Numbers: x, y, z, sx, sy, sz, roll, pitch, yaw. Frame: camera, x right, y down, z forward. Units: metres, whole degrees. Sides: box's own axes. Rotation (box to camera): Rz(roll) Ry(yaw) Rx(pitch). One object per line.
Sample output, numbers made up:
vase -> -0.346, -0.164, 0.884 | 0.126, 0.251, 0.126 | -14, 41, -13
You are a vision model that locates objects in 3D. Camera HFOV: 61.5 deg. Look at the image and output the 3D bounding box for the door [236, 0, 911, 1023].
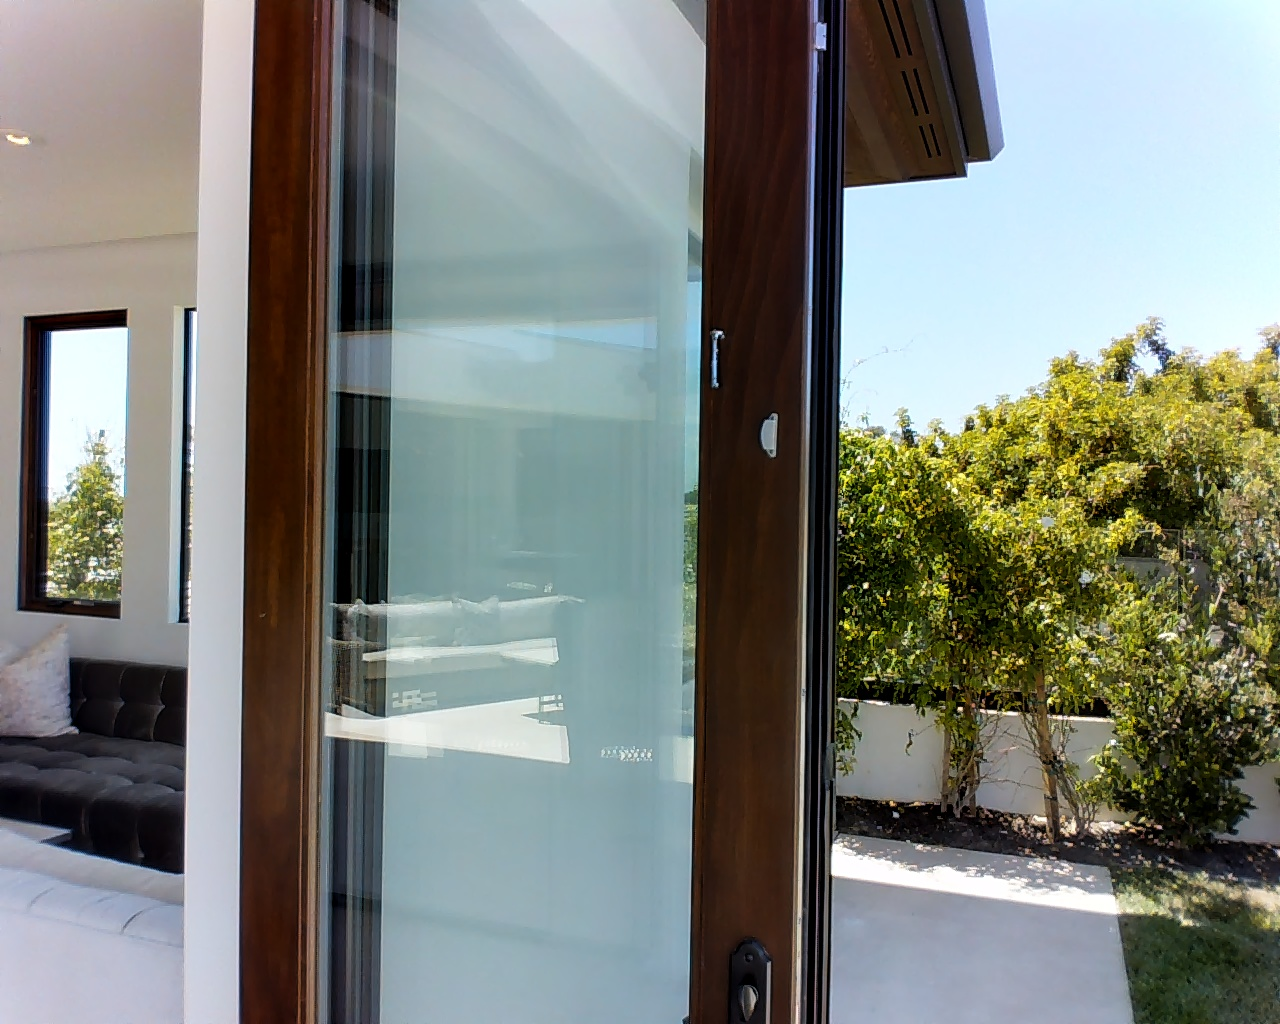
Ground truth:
door -> -0.110, 0.330, 1.280 | 0.790, 2.410, 0.140 | 1, 0, 21
